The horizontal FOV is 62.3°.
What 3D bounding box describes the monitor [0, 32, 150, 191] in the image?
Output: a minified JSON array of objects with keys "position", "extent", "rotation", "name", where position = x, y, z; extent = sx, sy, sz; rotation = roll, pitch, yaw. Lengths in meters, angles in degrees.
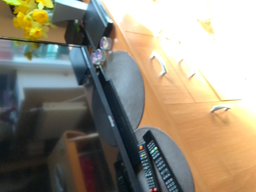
[{"position":[-0.270,0.110,0.760],"extent":[0.050,0.550,0.900],"rotation":[-52,51,42],"name":"monitor"}]
